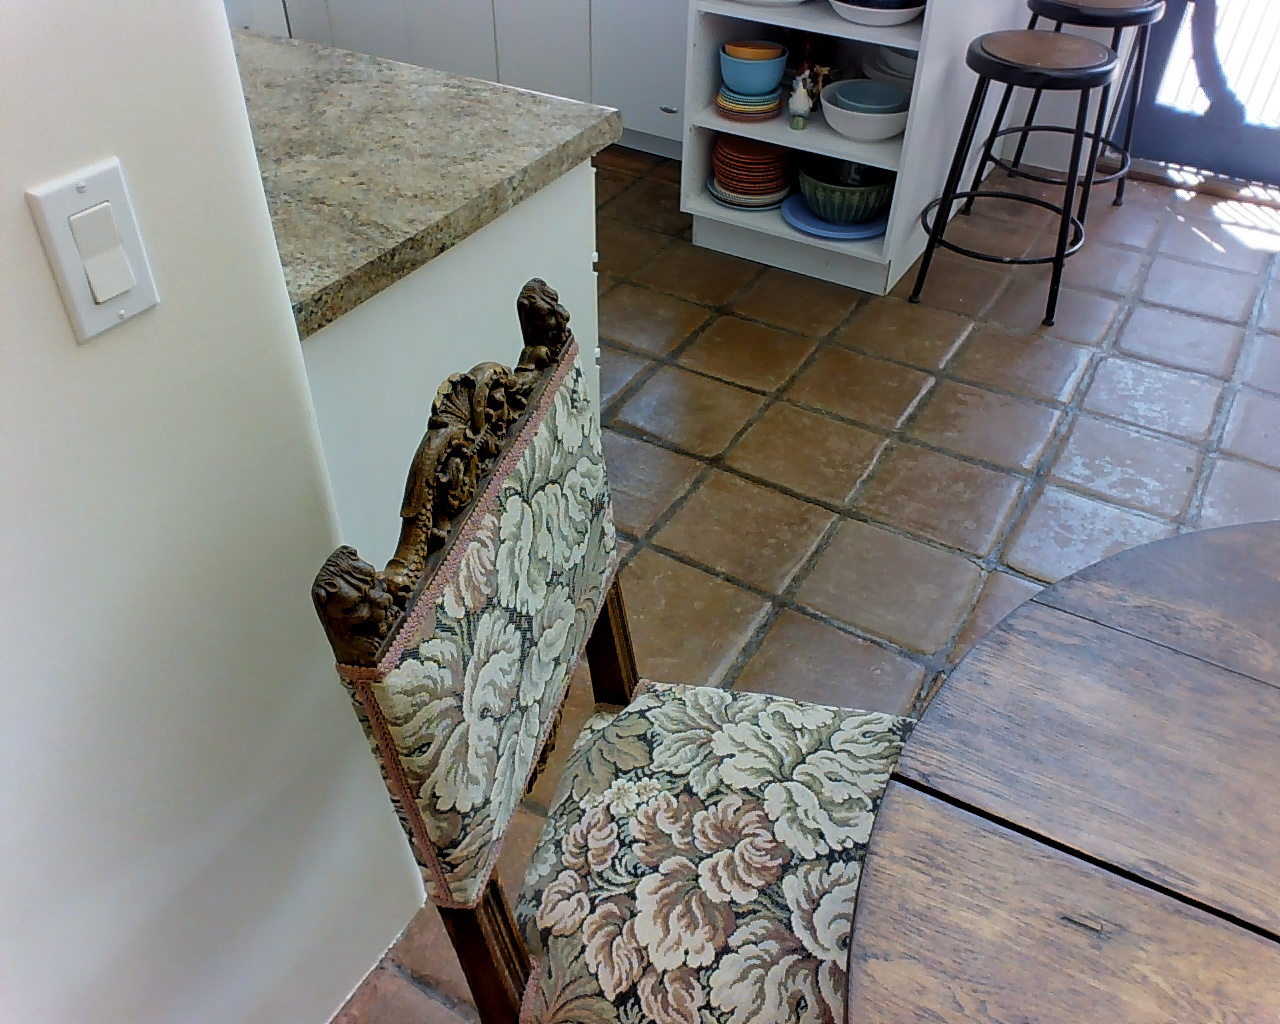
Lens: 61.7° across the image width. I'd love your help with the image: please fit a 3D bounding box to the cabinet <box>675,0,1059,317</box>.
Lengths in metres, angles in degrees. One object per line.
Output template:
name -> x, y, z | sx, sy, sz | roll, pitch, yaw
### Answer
cabinet -> 0.690, -1.310, 3.030 | 0.660, 0.940, 1.170 | 22, 45, 23
